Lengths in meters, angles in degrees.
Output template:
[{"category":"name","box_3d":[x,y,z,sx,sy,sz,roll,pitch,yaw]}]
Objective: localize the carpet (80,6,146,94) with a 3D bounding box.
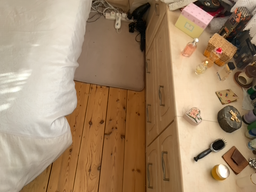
[{"category":"carpet","box_3d":[-0.090,-0.440,1.860,0.510,0.020,0.890,10,58,-10]}]
